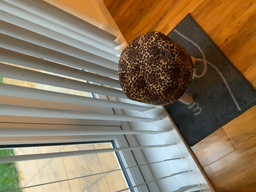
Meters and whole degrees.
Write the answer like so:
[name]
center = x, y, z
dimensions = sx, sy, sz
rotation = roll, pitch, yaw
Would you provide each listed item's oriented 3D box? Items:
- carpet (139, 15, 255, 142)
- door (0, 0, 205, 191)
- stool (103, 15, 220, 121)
[carpet]
center = 0.320, -0.100, 1.140
dimensions = 0.390, 0.050, 0.560
rotation = -41, 59, 28
[door]
center = -0.590, -0.050, 0.490
dimensions = 0.150, 2.130, 1.120
rotation = -44, 58, 27
[stool]
center = 0.160, -0.100, 1.010
dimensions = 0.290, 0.370, 0.320
rotation = -42, 59, 27
